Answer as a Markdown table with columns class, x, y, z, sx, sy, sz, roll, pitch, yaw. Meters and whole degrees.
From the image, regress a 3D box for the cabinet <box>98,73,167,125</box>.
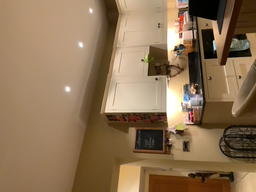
| class | x | y | z | sx | sy | sz | roll | pitch | yaw |
| --- | --- | --- | --- | --- | --- | --- | --- | --- | --- |
| cabinet | 0.110 | 0.050 | 3.290 | 0.370 | 0.960 | 0.700 | 71 | -158 | -56 |

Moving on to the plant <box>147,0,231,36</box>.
| class | x | y | z | sx | sy | sz | roll | pitch | yaw |
| --- | --- | --- | --- | --- | --- | --- | --- | --- | --- |
| plant | 0.410 | -0.650 | 1.490 | 0.310 | 0.510 | 0.260 | 72 | -159 | -54 |

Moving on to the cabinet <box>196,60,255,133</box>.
| class | x | y | z | sx | sy | sz | roll | pitch | yaw |
| --- | --- | --- | --- | --- | --- | --- | --- | --- | --- |
| cabinet | 1.420 | 0.020 | 2.860 | 0.630 | 0.870 | 0.750 | 71 | -158 | -56 |
